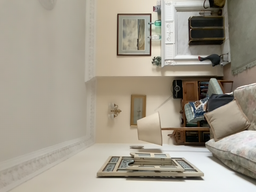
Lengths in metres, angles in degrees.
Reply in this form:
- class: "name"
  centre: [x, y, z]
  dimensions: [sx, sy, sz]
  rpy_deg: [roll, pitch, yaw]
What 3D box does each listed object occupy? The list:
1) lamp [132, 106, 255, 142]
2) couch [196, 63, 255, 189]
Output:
- class: "lamp"
  centre: [0.940, 0.430, 3.180]
  dimensions: [0.520, 1.740, 0.470]
  rpy_deg: [81, -170, -80]
- class: "couch"
  centre: [1.320, 0.250, 2.010]
  dimensions: [1.950, 0.780, 0.900]
  rpy_deg: [67, -156, -86]
